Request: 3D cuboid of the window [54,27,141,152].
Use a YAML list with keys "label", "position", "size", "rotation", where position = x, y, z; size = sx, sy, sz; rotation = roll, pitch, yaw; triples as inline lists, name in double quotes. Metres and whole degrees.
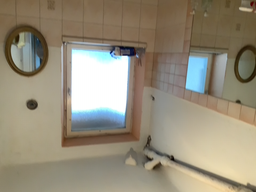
- label: "window"
  position: [-0.370, -0.060, 2.480]
  size: [0.930, 1.320, 0.260]
  rotation: [0, -168, -18]
